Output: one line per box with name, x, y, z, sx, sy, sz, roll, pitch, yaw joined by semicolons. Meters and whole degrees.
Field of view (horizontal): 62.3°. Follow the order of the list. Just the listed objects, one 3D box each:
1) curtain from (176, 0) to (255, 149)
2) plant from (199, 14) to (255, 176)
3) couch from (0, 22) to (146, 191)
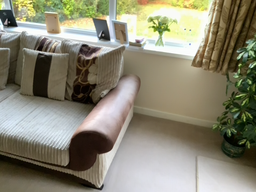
curtain;0.860;-0.540;1.630;0.540;2.240;0.190;12;32;13
plant;0.970;0.010;1.700;0.510;1.130;0.510;12;31;12
couch;-1.010;-0.060;1.850;2.090;0.850;0.990;12;31;12
